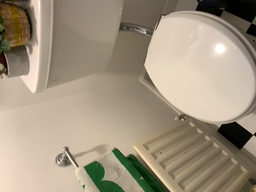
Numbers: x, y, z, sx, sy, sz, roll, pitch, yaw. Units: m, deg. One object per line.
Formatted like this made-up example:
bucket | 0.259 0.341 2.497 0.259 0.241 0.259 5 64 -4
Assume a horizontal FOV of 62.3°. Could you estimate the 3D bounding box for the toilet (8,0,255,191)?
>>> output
toilet | 0.130 -0.160 0.840 0.730 0.880 0.470 44 132 31
